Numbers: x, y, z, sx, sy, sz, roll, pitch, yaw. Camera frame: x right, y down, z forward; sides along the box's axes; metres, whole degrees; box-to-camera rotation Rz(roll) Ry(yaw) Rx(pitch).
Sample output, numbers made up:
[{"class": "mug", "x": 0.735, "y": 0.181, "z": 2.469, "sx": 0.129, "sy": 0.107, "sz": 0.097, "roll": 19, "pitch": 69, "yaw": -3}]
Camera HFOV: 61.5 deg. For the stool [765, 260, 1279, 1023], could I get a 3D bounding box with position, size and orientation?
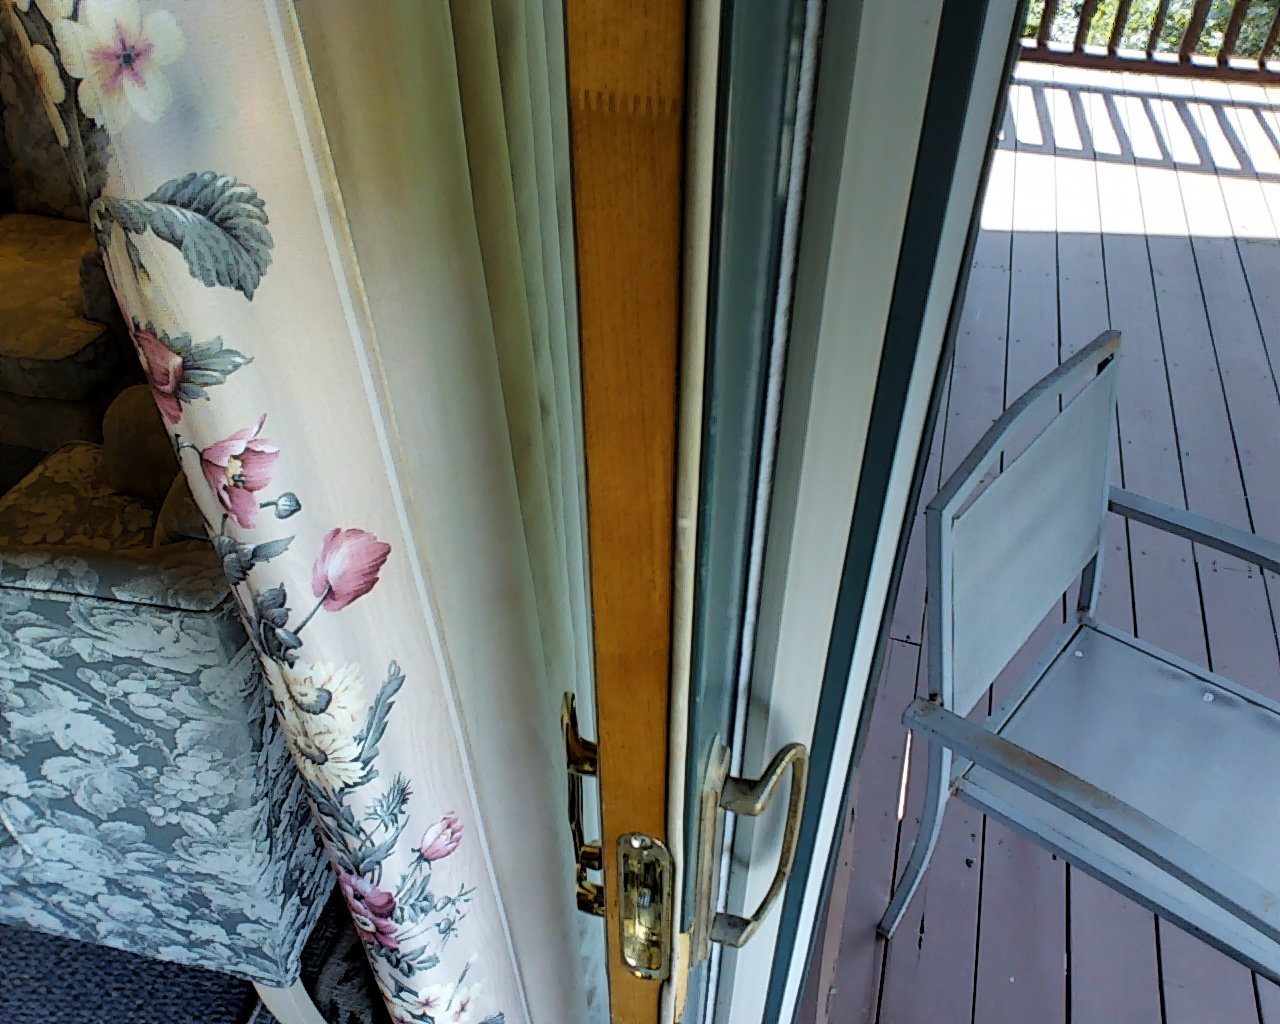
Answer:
[{"class": "stool", "x": 0.700, "y": 0.290, "z": 1.460, "sx": 0.740, "sy": 0.870, "sz": 0.640, "roll": 30, "pitch": 49, "yaw": 28}]
